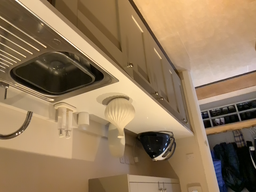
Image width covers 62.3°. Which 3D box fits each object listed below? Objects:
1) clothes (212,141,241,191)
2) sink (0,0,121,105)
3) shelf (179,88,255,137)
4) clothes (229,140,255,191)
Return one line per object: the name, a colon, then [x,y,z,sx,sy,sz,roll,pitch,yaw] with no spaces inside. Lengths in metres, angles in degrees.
clothes: [1.720,1.290,3.680,0.240,0.920,0.310,-16,154,23]
sink: [-0.390,-0.170,1.110,0.510,0.180,0.510,-16,153,23]
shelf: [1.790,0.350,3.980,1.470,0.510,0.550,-16,153,23]
clothes: [1.980,1.210,3.580,0.290,0.850,0.270,-14,154,20]
